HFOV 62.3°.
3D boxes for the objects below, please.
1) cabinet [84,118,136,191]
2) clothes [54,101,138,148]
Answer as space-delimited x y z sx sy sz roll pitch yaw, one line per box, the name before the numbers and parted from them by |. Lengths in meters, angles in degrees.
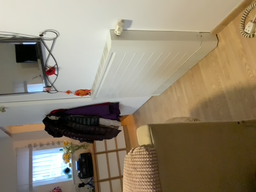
cabinet | -0.370 1.210 3.940 0.550 0.690 1.450 131 132 -64
clothes | -0.490 0.420 2.990 0.790 1.010 0.430 138 125 -67
